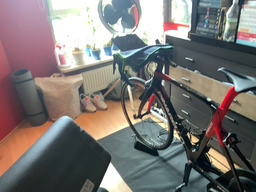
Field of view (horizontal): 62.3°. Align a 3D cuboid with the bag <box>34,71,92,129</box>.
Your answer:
[{"bbox_3d":[-0.750,0.030,2.480,0.480,0.440,0.380,-19,33,-26],"label":"bag"}]
